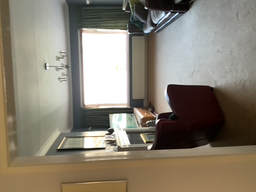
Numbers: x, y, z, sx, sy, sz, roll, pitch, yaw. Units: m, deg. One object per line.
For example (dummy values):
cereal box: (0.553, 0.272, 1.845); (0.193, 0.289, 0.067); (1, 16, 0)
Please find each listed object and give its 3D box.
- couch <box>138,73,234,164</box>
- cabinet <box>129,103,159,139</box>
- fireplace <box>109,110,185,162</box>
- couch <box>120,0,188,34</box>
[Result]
couch: (0.630, 0.290, 2.730); (0.780, 0.820, 0.860); (98, 168, -50)
cabinet: (0.390, 0.630, 5.940); (1.590, 0.520, 0.620); (-135, 45, -79)
fireplace: (0.260, 0.710, 4.220); (1.450, 1.200, 0.550); (-135, 45, -79)
couch: (0.380, -1.990, 4.250); (2.100, 0.870, 1.050); (-139, 49, -80)
